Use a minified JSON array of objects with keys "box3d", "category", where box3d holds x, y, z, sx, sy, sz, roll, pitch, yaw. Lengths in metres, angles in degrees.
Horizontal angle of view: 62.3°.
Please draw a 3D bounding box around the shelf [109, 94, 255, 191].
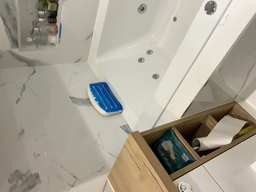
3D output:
[{"box3d":[0.350,0.260,1.100,0.230,0.830,0.340,54,139,31],"category":"shelf"}]
